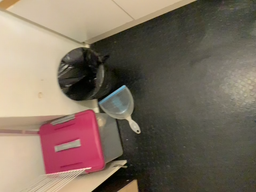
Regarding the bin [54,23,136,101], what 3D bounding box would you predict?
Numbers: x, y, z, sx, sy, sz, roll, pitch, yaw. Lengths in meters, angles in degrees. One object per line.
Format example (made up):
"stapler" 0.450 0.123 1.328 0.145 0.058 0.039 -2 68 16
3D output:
"bin" -0.190 -0.170 1.270 0.320 0.310 0.340 -13 82 25
